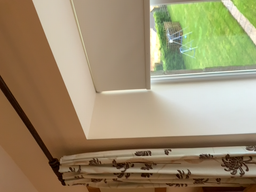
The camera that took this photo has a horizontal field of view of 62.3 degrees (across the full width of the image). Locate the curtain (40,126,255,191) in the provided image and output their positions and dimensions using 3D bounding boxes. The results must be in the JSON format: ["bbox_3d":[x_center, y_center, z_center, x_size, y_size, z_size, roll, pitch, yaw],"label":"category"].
[{"bbox_3d":[0.570,0.380,1.290,0.380,2.070,0.190,83,-175,-46],"label":"curtain"}]
